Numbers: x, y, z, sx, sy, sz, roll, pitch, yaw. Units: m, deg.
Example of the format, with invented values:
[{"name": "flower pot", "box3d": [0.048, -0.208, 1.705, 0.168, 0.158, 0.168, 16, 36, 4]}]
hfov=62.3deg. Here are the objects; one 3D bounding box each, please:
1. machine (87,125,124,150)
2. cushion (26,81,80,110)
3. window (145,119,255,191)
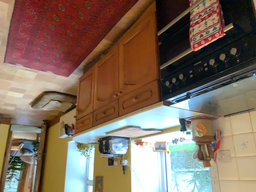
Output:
[{"name": "machine", "box3d": [-0.260, 0.490, 2.470, 0.310, 0.230, 0.290, 16, 155, -38]}, {"name": "cushion", "box3d": [-1.460, 0.030, 4.020, 0.590, 0.090, 1.240, 14, 156, -35]}, {"name": "window", "box3d": [0.720, 1.020, 2.410, 0.120, 1.270, 1.360, 14, 156, -35]}]
